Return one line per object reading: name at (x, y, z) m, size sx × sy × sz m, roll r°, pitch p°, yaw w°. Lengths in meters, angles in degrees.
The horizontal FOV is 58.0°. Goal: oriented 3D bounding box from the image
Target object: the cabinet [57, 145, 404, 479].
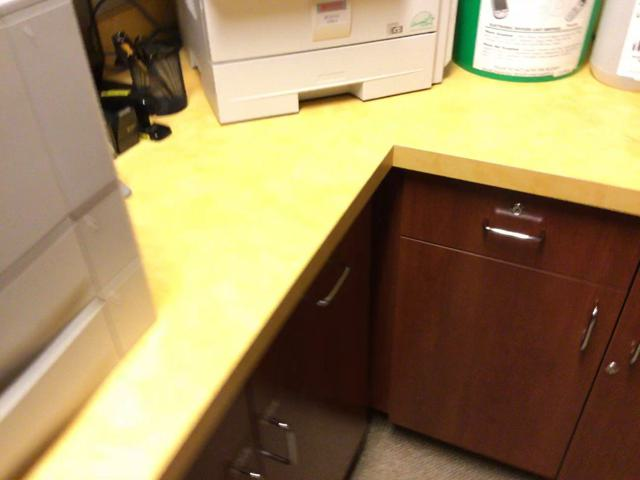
cabinet at (-0.080, 0.400, 0.940) m, size 0.080 × 0.760 × 0.970 m, roll 14°, pitch 39°, yaw 22°
